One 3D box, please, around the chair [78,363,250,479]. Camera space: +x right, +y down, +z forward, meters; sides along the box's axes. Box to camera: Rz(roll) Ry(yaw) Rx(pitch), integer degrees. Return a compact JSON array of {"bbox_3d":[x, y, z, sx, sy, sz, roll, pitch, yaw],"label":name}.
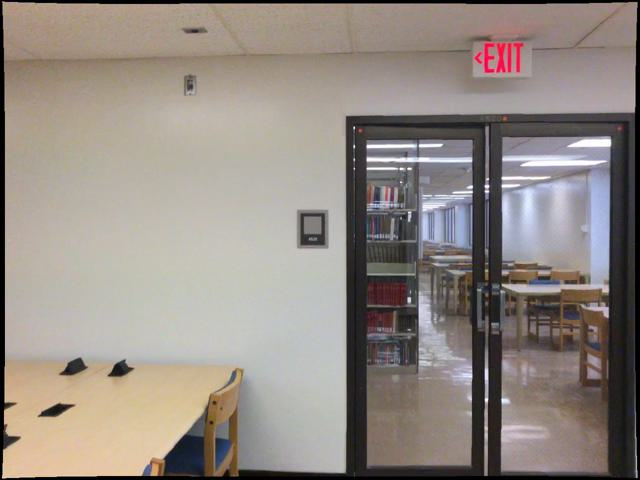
[{"bbox_3d":[-0.718,1.093,2.830,0.618,0.802,0.650,0,3,5],"label":"chair"}]
